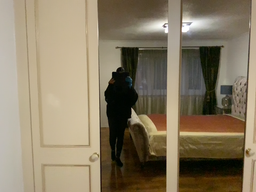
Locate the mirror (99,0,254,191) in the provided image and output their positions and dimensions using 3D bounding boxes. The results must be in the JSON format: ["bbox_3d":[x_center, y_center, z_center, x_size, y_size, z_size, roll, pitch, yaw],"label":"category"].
[{"bbox_3d":[0.350,0.190,1.630,1.110,2.300,0.040,0,6,0],"label":"mirror"}]
